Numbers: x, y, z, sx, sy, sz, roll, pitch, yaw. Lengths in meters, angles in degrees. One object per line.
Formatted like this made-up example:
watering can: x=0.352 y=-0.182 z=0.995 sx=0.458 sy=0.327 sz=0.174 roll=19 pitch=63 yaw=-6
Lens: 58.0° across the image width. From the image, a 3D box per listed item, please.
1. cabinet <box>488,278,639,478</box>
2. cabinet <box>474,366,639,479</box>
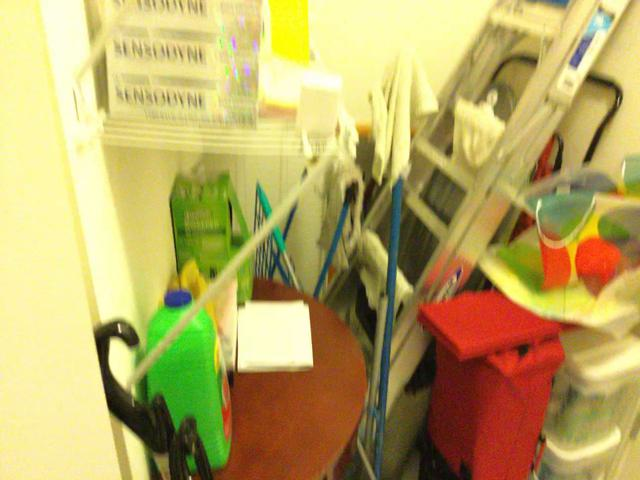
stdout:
cabinet: x=0.710 y=0.370 z=1.610 sx=0.280 sy=0.380 sz=0.310 roll=-10 pitch=31 yaw=-20
cabinet: x=0.700 y=0.640 z=1.740 sx=0.290 sy=0.340 sz=0.300 roll=-10 pitch=31 yaw=-20
